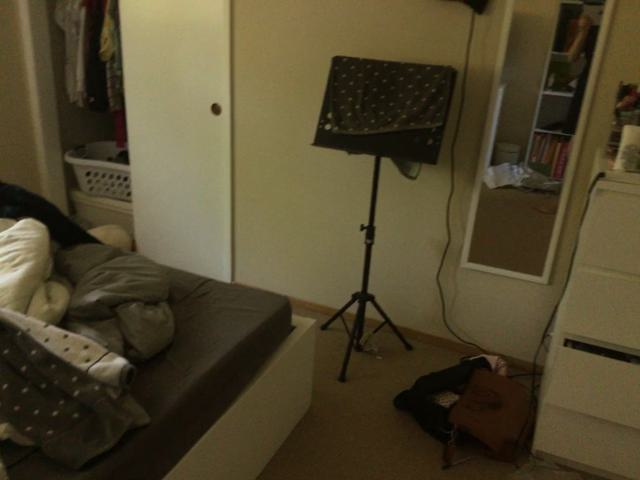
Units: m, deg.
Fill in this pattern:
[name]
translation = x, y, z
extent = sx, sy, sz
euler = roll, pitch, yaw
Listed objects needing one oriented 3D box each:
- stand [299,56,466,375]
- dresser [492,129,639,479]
[stand]
translation = 0.220, -0.090, 2.280
extent = 0.470, 1.160, 0.270
euler = 13, 24, 21
[dresser]
translation = 1.110, 0.290, 1.710
extent = 0.830, 1.010, 0.680
euler = 17, 26, 28
